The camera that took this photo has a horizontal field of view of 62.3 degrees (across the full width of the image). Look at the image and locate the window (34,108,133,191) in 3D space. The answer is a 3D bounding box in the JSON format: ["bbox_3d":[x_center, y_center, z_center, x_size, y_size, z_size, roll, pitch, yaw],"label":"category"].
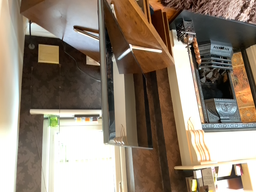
[{"bbox_3d":[-0.320,0.790,1.600,0.720,1.390,0.160,2,163,-22],"label":"window"}]
